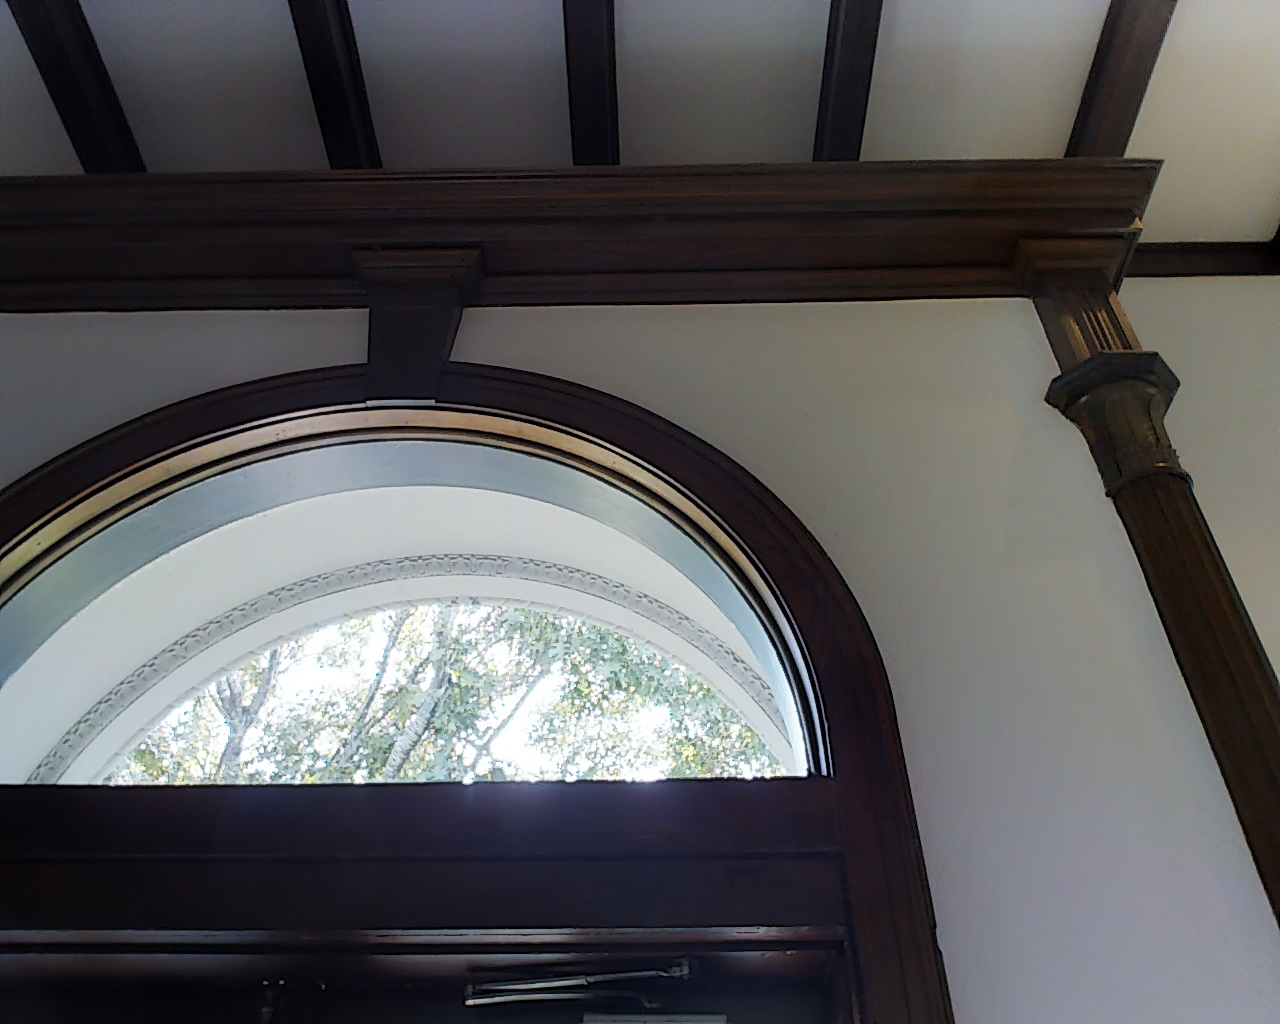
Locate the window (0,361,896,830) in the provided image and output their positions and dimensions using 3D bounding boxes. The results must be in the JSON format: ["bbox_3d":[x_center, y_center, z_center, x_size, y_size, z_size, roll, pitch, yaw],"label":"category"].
[{"bbox_3d":[-0.490,0.110,2.140,1.800,1.010,0.200,0,-42,0],"label":"window"}]
